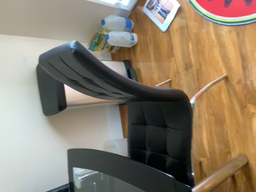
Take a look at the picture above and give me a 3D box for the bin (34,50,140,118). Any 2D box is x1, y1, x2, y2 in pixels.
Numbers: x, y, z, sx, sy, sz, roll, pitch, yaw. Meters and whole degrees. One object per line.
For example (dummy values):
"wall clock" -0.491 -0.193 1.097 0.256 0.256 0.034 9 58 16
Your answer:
"bin" -0.290 -0.090 1.660 0.290 0.720 0.410 -13 85 47

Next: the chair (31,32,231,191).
"chair" 0.100 0.100 1.070 0.420 0.950 0.610 -2 93 47
